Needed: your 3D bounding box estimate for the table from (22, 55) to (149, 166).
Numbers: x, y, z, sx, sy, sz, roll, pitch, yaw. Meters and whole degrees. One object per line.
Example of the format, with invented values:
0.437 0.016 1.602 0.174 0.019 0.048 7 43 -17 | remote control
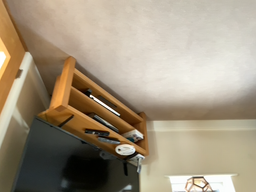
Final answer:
-0.300 0.220 2.030 0.410 0.490 1.150 -26 136 27 | table
